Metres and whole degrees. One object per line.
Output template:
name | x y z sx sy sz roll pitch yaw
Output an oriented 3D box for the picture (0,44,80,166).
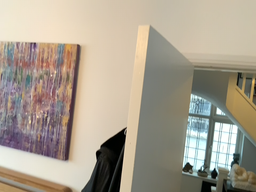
picture | -1.040 0.010 1.800 1.290 0.890 0.060 6 0 17
